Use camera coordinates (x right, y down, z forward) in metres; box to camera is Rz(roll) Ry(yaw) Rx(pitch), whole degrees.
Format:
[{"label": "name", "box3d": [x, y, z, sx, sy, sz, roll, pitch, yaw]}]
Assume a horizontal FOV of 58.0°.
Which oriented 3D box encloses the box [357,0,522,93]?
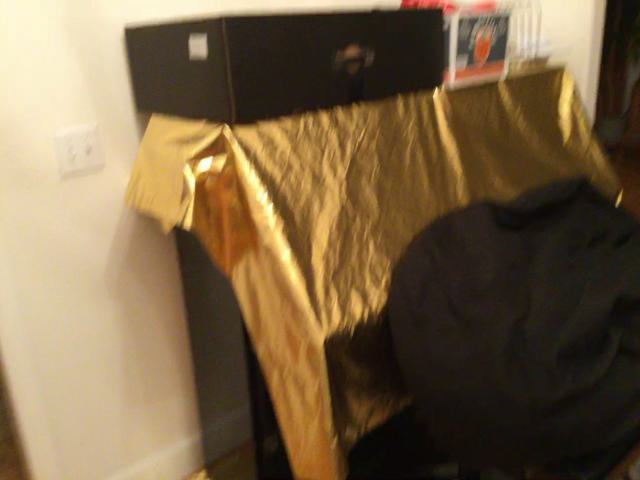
[{"label": "box", "box3d": [0.380, -0.620, 1.810, 0.420, 0.260, 0.300, -20, 24, -37]}]
